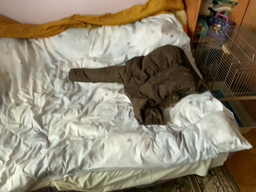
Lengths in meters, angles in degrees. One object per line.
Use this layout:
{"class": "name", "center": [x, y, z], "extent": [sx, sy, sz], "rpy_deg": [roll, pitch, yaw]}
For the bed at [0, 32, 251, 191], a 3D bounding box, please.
{"class": "bed", "center": [-0.420, 0.070, 1.580], "extent": [1.920, 0.400, 1.310], "rpy_deg": [-6, 43, -7]}
